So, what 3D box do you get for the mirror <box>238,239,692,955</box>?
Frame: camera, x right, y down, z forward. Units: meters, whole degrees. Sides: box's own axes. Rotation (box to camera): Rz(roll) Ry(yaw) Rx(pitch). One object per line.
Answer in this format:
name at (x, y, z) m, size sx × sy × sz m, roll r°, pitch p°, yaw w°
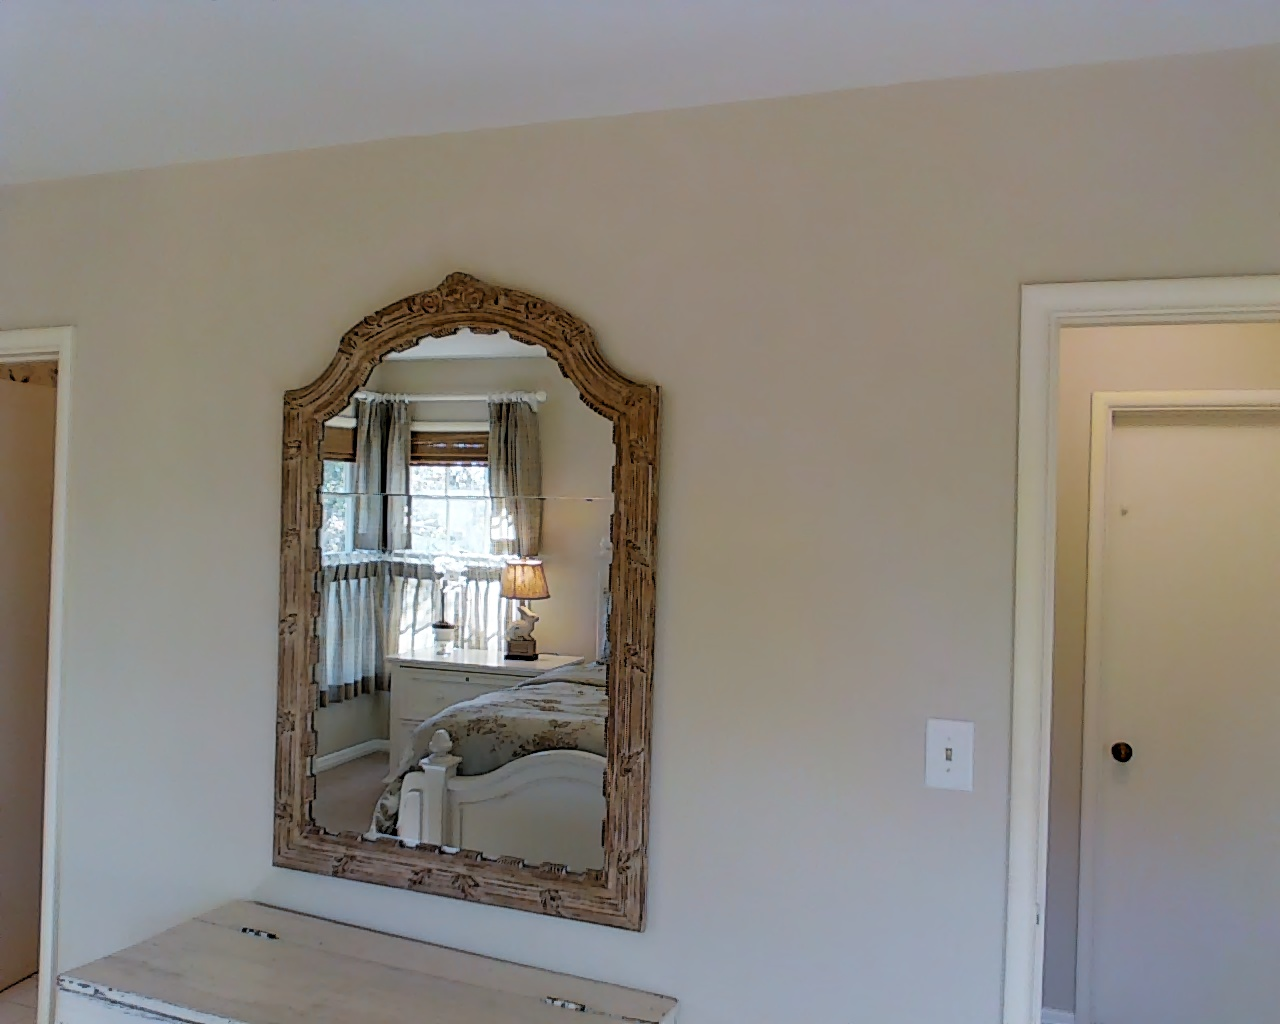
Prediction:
mirror at (-0.420, 0.160, 2.430) m, size 1.040 × 1.450 × 0.150 m, roll 1°, pitch -1°, yaw 21°
